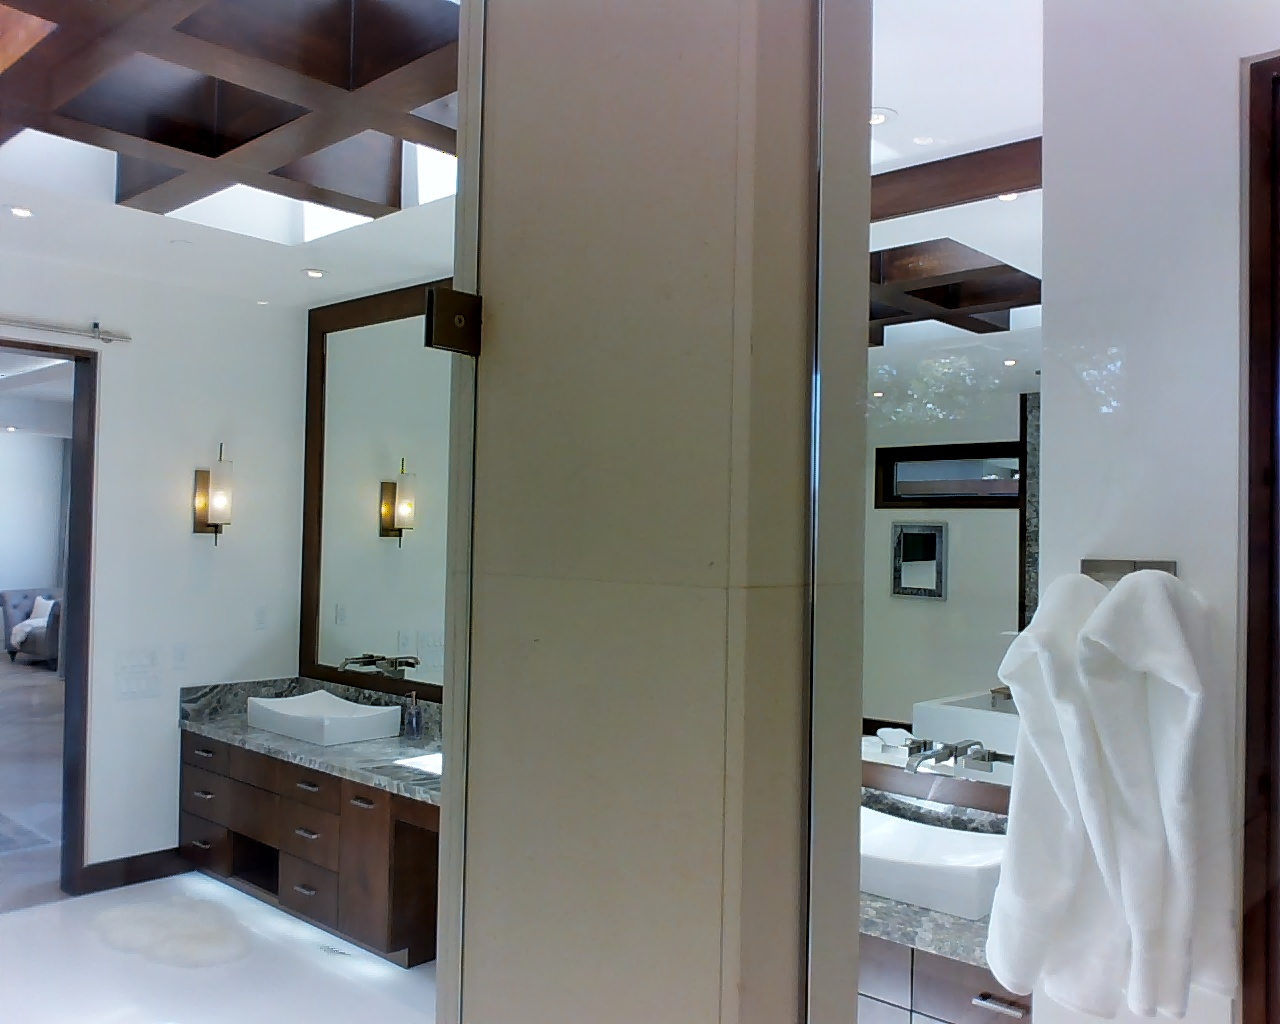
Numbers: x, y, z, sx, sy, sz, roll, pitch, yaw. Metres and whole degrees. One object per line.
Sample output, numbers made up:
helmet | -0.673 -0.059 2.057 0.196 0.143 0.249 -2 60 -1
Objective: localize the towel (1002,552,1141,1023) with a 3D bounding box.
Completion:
towel | 0.710 0.500 1.790 0.180 0.860 0.220 1 -1 16

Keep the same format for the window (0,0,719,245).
window | -1.220 -1.300 2.930 2.120 0.390 1.930 0 -1 42

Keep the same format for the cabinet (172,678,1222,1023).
cabinet | -0.360 1.290 3.890 4.280 0.850 0.690 0 -1 42

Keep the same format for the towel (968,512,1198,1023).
towel | 0.700 0.460 1.740 0.200 0.910 0.340 1 -1 -4
